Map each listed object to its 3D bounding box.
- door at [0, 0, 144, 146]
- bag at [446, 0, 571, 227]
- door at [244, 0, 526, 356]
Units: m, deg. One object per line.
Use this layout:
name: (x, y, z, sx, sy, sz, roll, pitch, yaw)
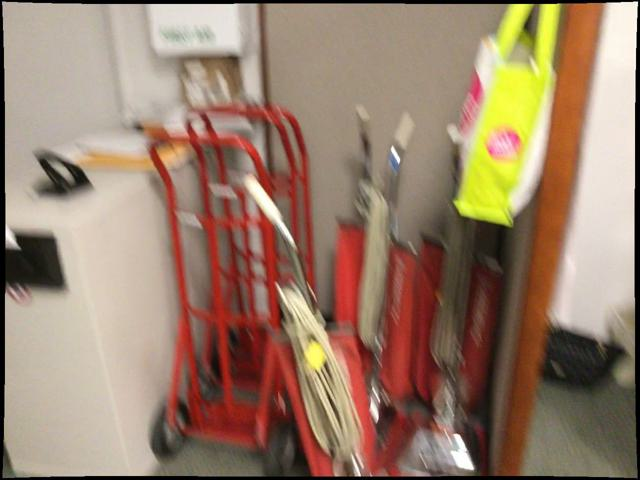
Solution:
door: (-1.169, -1.011, 2.420, 0.669, 1.221, 0.110, 4, 25, 15)
bag: (0.380, -0.350, 1.190, 0.200, 0.600, 0.210, 4, 25, 15)
door: (0.240, -0.350, 2.200, 0.929, 1.641, 0.210, 4, 25, 15)
